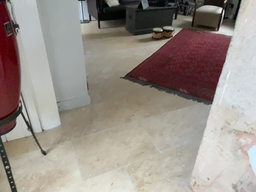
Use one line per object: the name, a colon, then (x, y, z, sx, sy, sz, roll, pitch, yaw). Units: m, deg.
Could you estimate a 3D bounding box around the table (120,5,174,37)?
table: (0.360, -1.490, 4.160, 0.900, 0.450, 0.460, -13, 37, -23)
